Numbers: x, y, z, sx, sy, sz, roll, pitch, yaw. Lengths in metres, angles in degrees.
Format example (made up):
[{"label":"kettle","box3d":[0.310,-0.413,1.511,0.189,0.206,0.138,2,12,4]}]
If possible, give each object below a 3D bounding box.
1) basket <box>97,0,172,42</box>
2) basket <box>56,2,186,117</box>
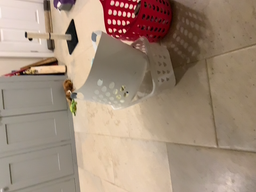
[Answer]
[{"label":"basket","box3d":[0.030,-0.550,1.420,0.400,0.300,0.300,30,119,50]},{"label":"basket","box3d":[-0.080,-0.180,1.400,0.600,0.560,0.510,-16,82,55]}]
